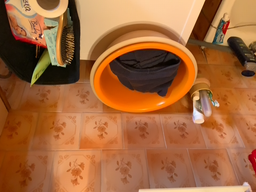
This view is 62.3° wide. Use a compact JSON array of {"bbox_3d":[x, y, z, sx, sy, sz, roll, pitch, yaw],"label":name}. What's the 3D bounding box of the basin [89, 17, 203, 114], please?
[{"bbox_3d":[0.030,-0.080,0.730,0.310,0.110,0.320,3,141,-10],"label":"basin"}]
